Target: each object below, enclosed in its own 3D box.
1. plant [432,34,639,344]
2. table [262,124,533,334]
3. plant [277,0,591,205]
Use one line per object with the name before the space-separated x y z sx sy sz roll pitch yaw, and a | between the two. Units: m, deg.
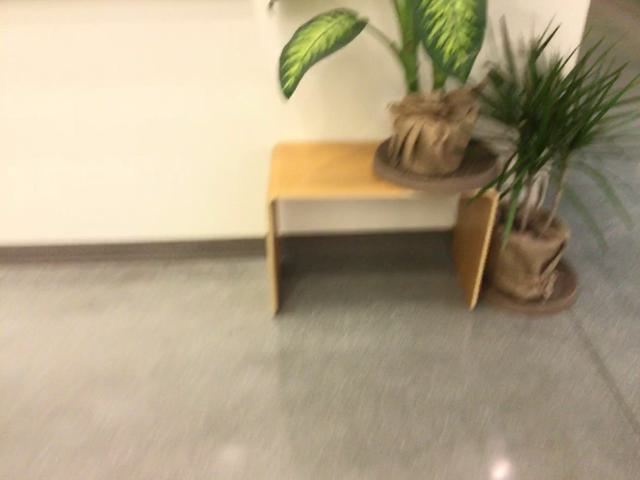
plant | 0.710 -0.160 1.730 0.530 0.760 0.510 -2 33 -5
table | 0.190 -0.050 1.860 0.730 0.510 0.430 -2 33 -5
plant | 0.250 -0.520 1.570 0.720 0.730 0.400 -2 33 -5
